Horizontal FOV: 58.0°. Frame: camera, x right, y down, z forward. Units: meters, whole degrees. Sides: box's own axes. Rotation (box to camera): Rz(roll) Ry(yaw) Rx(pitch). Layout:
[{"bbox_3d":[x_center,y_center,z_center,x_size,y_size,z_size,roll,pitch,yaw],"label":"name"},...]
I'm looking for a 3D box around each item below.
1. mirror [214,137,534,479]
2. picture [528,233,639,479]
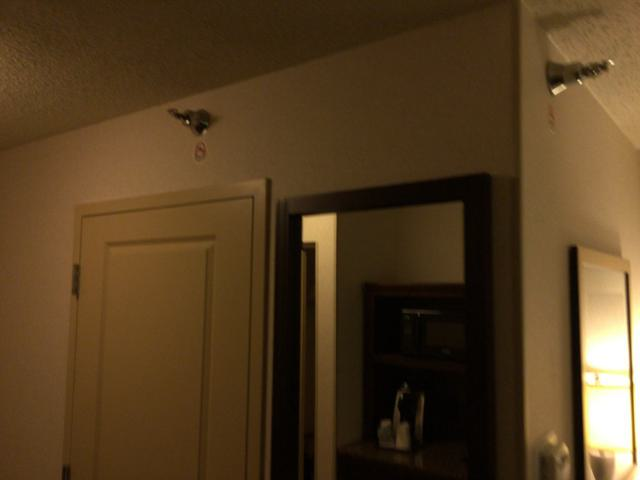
[{"bbox_3d":[0.110,0.590,1.380,0.770,1.500,0.120,-11,-9,37],"label":"mirror"},{"bbox_3d":[0.910,0.420,1.800,0.110,0.840,0.880,-11,-9,37],"label":"picture"}]
